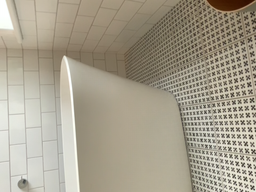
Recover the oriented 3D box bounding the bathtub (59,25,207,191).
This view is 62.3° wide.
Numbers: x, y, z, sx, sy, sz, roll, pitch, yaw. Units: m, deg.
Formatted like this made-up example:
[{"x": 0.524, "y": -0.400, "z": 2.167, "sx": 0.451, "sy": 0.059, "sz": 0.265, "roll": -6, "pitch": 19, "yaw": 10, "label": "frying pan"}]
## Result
[{"x": -0.040, "y": 0.600, "z": 1.200, "sx": 0.790, "sy": 0.560, "sz": 1.680, "roll": 158, "pitch": 109, "yaw": -66, "label": "bathtub"}]
